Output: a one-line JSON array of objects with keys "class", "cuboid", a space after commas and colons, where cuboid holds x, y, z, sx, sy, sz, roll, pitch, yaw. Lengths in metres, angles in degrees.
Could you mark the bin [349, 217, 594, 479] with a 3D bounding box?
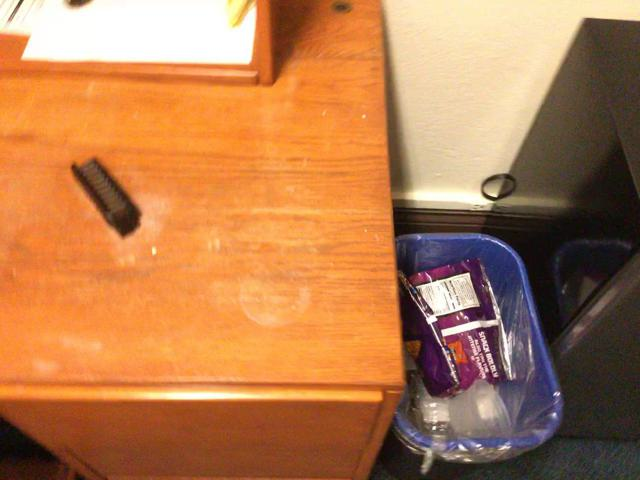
[{"class": "bin", "cuboid": [0.220, 0.230, 1.050, 0.290, 0.370, 0.400, 1, 56, -2]}]
